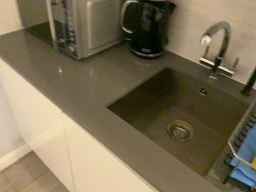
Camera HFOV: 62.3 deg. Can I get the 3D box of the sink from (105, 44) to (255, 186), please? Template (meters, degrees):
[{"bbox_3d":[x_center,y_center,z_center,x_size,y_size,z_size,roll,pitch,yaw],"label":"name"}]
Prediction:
[{"bbox_3d":[0.220,0.030,0.930,0.520,0.240,0.380,31,46,26],"label":"sink"}]

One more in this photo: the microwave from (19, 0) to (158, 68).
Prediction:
[{"bbox_3d":[-0.200,-0.440,1.020,0.550,0.280,0.390,33,47,27],"label":"microwave"}]
